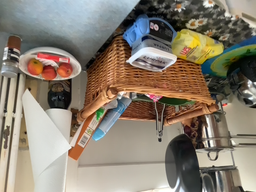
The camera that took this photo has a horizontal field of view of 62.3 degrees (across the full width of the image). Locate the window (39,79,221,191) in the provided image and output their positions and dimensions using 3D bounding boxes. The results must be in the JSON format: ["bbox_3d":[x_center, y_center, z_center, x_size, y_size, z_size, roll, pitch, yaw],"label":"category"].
[{"bbox_3d":[0.080,0.640,1.030,0.940,1.300,0.260,8,158,-33],"label":"window"}]

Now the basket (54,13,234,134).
[{"bbox_3d":[0.030,-0.010,0.970,0.580,0.270,0.550,7,158,-31],"label":"basket"}]
